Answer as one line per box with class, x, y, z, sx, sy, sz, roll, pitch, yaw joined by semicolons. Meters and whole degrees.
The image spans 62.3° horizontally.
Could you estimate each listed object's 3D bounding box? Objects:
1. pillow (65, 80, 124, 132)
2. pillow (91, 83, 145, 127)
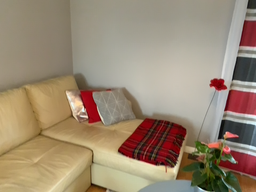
pillow;-0.390;0.100;2.580;0.280;0.410;0.570;43;29;9
pillow;-0.120;0.120;2.460;0.480;0.350;0.240;15;33;-30
